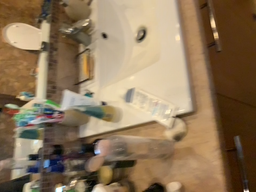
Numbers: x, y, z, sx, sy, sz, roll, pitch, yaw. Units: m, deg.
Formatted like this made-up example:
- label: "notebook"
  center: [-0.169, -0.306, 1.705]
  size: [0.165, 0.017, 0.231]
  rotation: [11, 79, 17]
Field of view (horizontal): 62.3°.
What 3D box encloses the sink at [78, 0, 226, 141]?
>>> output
- label: "sink"
  center: [0.010, -0.260, 0.750]
  size: [0.460, 0.140, 0.770]
  rotation: [-20, 66, 43]
